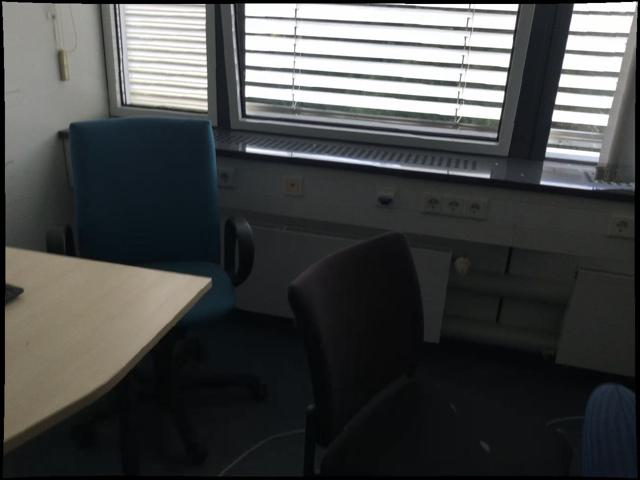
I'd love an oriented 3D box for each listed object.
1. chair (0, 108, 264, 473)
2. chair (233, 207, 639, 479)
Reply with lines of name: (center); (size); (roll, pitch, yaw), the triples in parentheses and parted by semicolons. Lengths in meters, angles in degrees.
chair: (-0.539, 0.120, 1.910); (0.649, 0.971, 0.660); (-2, 24, -10)
chair: (0.250, 0.440, 1.310); (0.630, 0.771, 0.600); (18, 28, 31)
